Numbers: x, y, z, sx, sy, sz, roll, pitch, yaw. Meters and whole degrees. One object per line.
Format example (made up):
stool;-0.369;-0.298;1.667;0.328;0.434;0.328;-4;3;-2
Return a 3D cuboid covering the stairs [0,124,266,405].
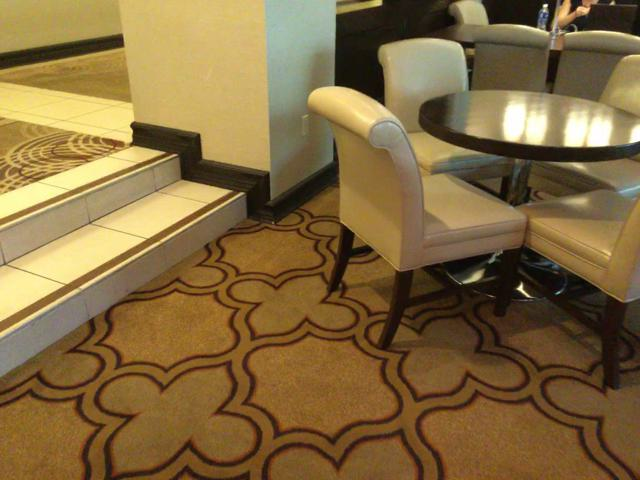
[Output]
stairs;-1.190;-0.070;2.710;1.150;0.420;1.580;11;31;27
